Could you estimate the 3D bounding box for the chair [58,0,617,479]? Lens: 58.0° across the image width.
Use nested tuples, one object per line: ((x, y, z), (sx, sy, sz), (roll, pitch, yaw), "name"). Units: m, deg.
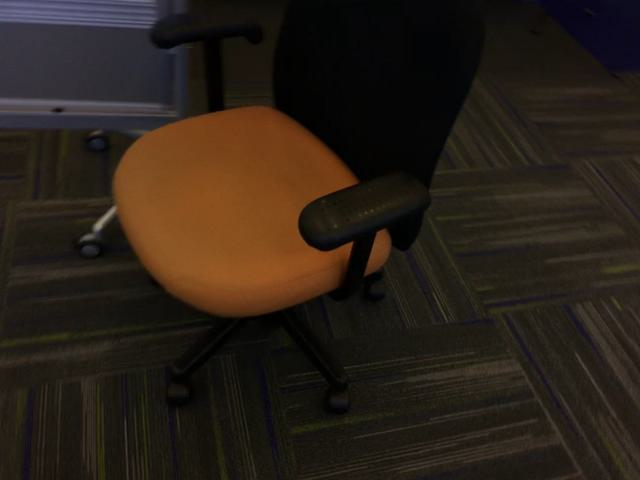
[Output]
((-0.100, -0.120, 1.180), (0.660, 0.910, 0.680), (-11, 45, -28), "chair")
